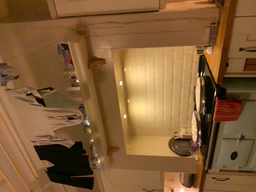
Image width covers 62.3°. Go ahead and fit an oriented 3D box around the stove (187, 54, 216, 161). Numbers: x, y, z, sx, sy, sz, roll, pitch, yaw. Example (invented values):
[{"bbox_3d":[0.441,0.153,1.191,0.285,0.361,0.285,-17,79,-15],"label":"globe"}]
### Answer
[{"bbox_3d":[0.780,0.130,2.370,0.670,0.090,0.980,-78,-14,-54],"label":"stove"}]
